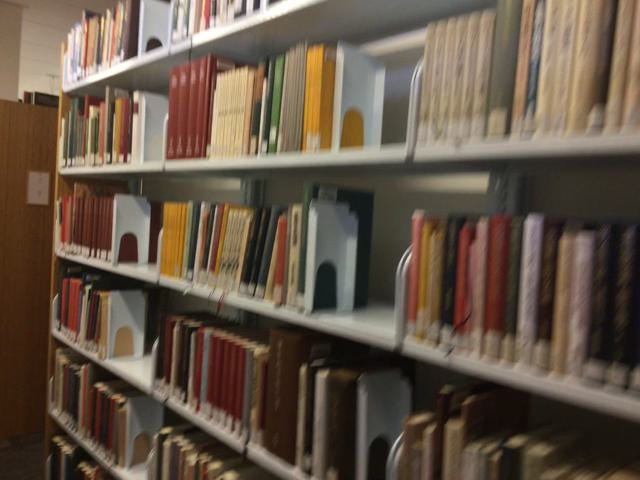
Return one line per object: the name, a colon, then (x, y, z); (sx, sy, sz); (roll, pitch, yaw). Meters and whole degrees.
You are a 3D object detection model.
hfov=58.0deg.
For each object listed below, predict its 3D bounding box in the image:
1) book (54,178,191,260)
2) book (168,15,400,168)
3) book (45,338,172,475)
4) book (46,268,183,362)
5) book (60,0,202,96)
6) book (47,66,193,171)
book: (-0.730, -0.080, 2.080); (0.240, 0.250, 0.610); (3, 2, -41)
book: (-0.130, -0.320, 1.410); (0.160, 0.250, 0.690); (3, 2, -41)
book: (-0.780, 0.560, 2.070); (0.170, 0.270, 0.700); (3, 2, -41)
book: (-0.770, 0.250, 2.120); (0.270, 0.240, 0.570); (3, 2, -41)
book: (-0.690, -0.680, 2.050); (0.230, 0.210, 0.650); (3, 2, -41)
book: (-0.720, -0.390, 2.010); (0.210, 0.260, 0.720); (3, 2, -41)
